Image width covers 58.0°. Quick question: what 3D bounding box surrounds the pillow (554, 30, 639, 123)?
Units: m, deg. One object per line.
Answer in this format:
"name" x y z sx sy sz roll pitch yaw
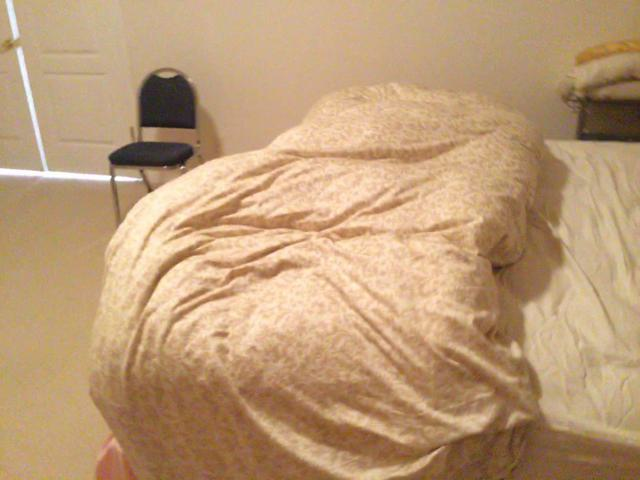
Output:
"pillow" 1.540 -0.790 2.790 0.680 0.350 0.420 8 27 14

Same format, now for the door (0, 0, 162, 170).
"door" -1.870 -1.370 3.650 1.580 1.730 0.250 6 24 8
